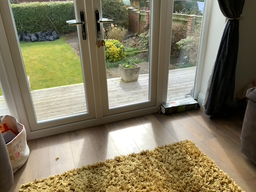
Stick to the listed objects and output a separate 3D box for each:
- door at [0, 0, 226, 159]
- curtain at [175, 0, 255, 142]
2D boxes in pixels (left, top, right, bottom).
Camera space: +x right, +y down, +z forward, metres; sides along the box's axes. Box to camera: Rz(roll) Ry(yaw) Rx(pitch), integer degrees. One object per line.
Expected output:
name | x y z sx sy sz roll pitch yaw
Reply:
door | -0.330 -0.690 1.820 2.640 2.360 0.250 -10 28 -17
curtain | 0.930 -0.710 1.930 0.770 2.390 0.280 -11 28 -19
